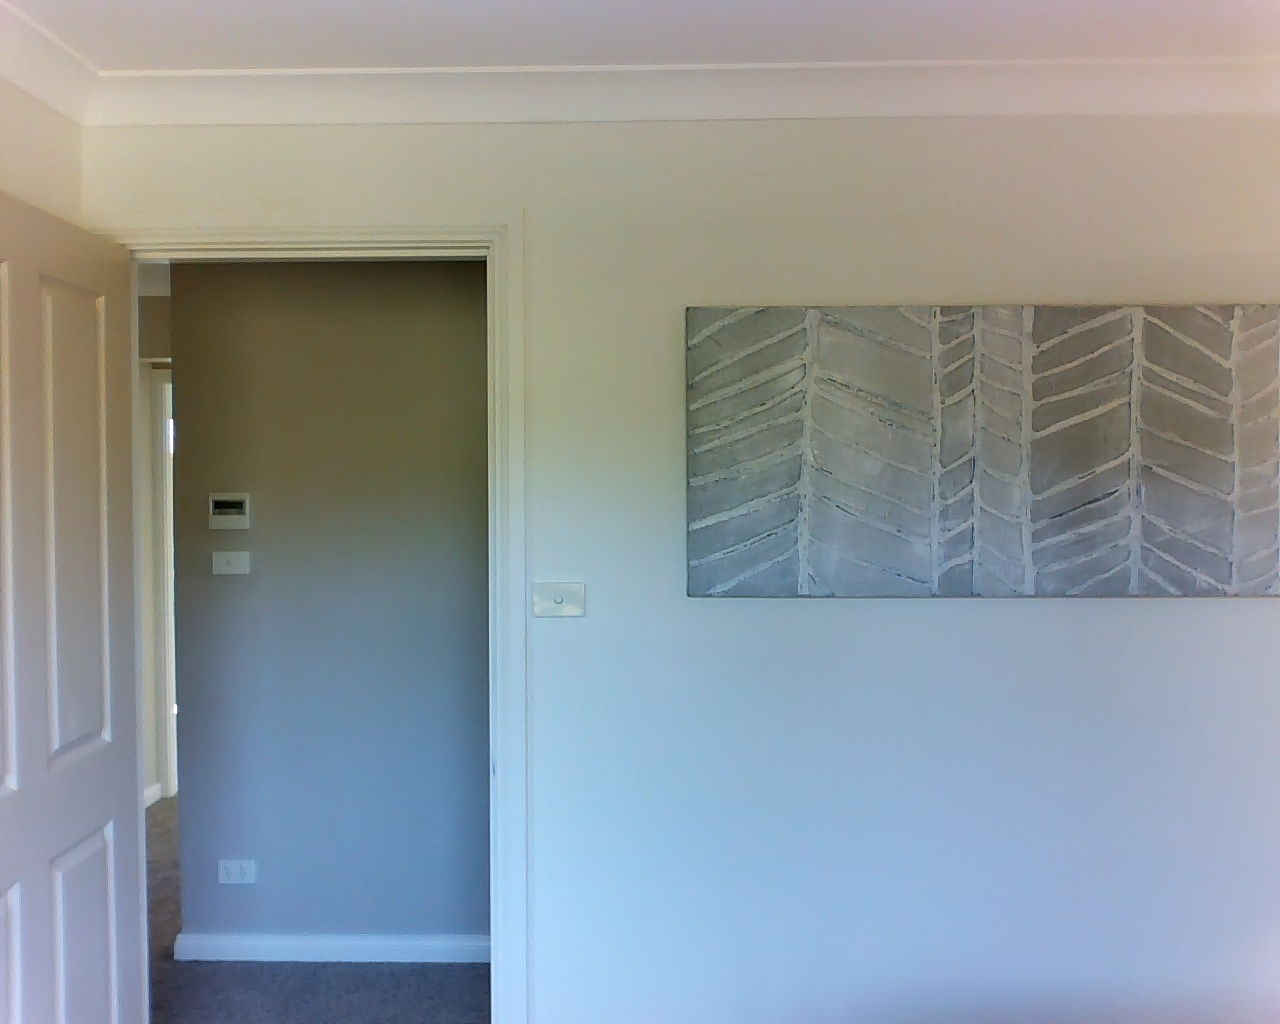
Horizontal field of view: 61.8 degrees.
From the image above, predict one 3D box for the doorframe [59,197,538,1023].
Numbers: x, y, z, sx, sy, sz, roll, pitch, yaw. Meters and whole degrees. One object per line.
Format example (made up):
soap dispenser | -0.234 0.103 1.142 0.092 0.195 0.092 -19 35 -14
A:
doorframe | -0.720 0.400 2.320 0.980 2.111 0.150 0 1 1
